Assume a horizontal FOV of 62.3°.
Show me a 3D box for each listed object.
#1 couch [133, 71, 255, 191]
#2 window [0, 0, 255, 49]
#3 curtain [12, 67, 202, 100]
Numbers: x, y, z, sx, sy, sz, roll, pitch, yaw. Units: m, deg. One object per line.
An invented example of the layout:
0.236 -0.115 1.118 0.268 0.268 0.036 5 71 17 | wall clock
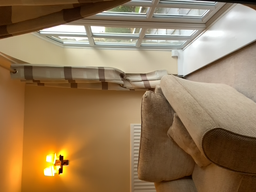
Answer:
0.540 0.520 1.670 1.020 0.830 1.170 -101 14 -68 | couch
-0.120 -0.830 1.930 2.340 2.240 0.120 156 115 -84 | window
-0.240 -0.140 2.940 0.760 2.280 0.250 123 148 -80 | curtain
